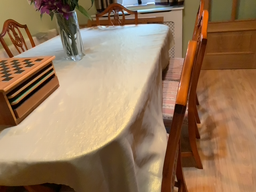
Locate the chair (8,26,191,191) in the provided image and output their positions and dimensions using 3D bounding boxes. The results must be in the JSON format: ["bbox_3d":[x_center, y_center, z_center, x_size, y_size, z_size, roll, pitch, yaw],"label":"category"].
[{"bbox_3d":[0.010,0.240,0.970,0.500,0.960,0.490,2,30,16],"label":"chair"}]

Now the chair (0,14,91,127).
[{"bbox_3d":[-0.810,-0.250,2.070,0.570,0.920,0.520,2,30,16],"label":"chair"}]
